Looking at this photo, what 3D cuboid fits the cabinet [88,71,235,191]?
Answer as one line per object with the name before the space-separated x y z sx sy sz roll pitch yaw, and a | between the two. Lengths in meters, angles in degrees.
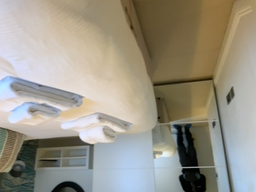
cabinet | 0.350 0.820 2.590 1.580 2.050 0.440 -6 160 13
